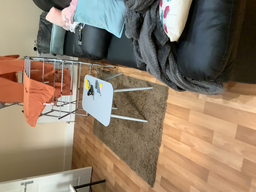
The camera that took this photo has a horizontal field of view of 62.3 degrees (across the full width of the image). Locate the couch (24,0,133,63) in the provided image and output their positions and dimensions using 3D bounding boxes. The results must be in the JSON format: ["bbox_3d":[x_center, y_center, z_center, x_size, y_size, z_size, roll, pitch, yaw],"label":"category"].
[{"bbox_3d":[-0.750,-0.930,2.780,1.500,0.890,0.840,17,104,55],"label":"couch"}]

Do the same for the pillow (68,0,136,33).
[{"bbox_3d":[-0.230,-0.720,1.820,0.540,0.230,0.320,10,108,28],"label":"pillow"}]

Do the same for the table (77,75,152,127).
[{"bbox_3d":[-0.180,0.020,2.290,0.750,0.470,0.400,16,103,55],"label":"table"}]

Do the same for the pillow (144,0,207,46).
[{"bbox_3d":[0.220,-0.430,0.910,0.160,0.170,0.380,30,114,53],"label":"pillow"}]
